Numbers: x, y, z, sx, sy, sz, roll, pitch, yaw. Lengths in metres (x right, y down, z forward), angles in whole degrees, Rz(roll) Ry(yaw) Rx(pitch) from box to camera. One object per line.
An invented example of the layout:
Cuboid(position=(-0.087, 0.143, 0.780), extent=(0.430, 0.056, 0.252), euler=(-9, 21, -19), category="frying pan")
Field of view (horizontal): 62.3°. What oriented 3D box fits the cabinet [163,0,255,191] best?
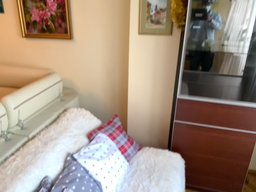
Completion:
Cuboid(position=(0.790, -0.140, 1.740), extent=(0.780, 2.030, 0.470), euler=(7, 23, 13), category="cabinet")
